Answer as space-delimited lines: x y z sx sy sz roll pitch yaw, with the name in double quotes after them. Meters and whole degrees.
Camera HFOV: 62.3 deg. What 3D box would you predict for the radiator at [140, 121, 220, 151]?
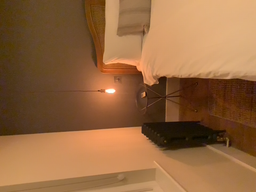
0.470 0.360 2.020 0.450 0.590 0.130 -166 76 -73 "radiator"
